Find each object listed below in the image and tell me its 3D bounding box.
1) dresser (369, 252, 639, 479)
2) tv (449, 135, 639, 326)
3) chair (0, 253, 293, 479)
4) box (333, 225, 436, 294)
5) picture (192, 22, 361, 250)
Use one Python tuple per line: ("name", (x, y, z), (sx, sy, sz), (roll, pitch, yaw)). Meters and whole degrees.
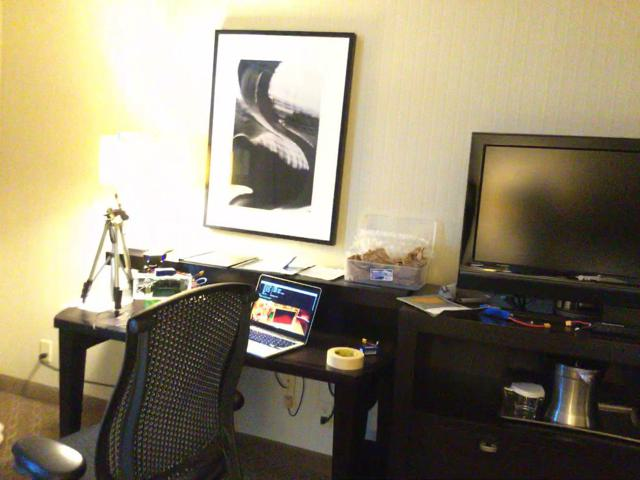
("dresser", (0.820, 0.660, 1.950), (1.180, 1.090, 0.560), (5, 6, 20))
("tv", (0.860, -0.040, 1.930), (0.780, 0.580, 0.170), (5, 6, 20))
("chair", (-0.570, 0.620, 1.720), (0.650, 1.050, 0.670), (7, 7, 37))
("box", (0.260, 0.070, 2.300), (0.350, 0.220, 0.230), (5, 6, 20))
("picture", (-0.210, -0.460, 2.520), (0.660, 0.900, 0.060), (11, 8, 19))
